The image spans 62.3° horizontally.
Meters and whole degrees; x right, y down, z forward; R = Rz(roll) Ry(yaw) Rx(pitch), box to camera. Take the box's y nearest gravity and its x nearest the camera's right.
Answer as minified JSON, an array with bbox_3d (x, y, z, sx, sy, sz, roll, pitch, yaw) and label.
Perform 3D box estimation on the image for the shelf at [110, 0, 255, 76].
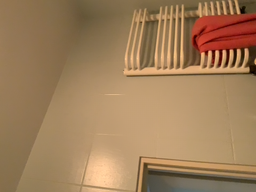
[{"bbox_3d":[0.350,-0.360,1.310,0.120,0.840,0.500,71,-156,-54],"label":"shelf"}]

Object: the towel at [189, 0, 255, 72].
[{"bbox_3d":[0.640,-0.350,1.180,0.200,0.560,0.380,71,-156,-54],"label":"towel"}]
